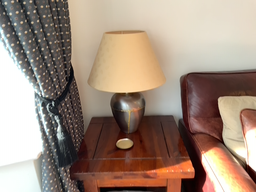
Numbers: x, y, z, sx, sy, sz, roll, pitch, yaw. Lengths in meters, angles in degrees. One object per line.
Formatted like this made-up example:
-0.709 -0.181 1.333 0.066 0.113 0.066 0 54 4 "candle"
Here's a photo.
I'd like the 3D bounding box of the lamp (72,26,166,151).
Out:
-0.030 -0.080 1.260 0.410 0.600 0.480 -3 21 0 "lamp"
